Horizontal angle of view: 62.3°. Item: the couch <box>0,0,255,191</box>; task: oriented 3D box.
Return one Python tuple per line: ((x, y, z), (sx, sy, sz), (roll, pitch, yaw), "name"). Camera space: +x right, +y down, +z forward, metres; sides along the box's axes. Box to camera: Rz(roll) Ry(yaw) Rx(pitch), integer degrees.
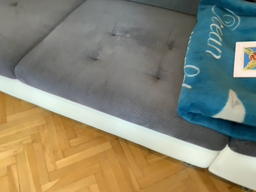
((-0.340, -0.450, 1.250), (2.500, 0.730, 1.000), (20, 52, 13), "couch")
